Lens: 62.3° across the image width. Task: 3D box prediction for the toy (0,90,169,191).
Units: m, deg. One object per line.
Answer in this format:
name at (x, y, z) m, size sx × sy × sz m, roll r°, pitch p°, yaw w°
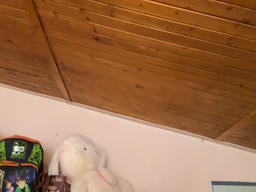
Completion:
toy at (-0.300, 0.490, 1.270) m, size 0.930 × 0.790 × 0.630 m, roll 3°, pitch -30°, yaw -4°
